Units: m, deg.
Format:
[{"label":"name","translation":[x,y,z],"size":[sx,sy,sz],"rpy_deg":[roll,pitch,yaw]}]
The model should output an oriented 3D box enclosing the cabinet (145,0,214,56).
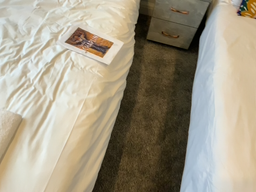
[{"label":"cabinet","translation":[0.420,-0.720,1.800],"size":[0.390,0.500,0.440],"rpy_deg":[14,56,0]}]
